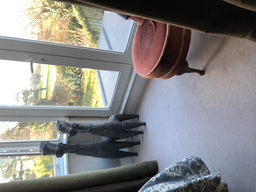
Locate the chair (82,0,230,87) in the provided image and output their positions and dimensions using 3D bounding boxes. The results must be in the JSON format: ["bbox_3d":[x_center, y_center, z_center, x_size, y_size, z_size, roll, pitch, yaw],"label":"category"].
[{"bbox_3d":[0.140,-0.520,1.540,0.600,0.760,0.680,-128,46,-57],"label":"chair"}]
